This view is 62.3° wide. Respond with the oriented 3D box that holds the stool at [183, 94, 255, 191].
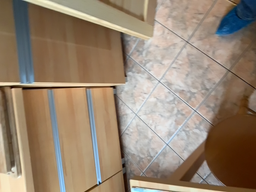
[{"bbox_3d":[0.540,0.200,0.970,0.380,0.450,0.370,-11,88,32],"label":"stool"}]
